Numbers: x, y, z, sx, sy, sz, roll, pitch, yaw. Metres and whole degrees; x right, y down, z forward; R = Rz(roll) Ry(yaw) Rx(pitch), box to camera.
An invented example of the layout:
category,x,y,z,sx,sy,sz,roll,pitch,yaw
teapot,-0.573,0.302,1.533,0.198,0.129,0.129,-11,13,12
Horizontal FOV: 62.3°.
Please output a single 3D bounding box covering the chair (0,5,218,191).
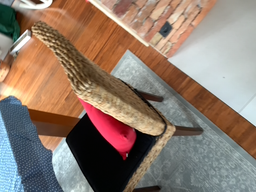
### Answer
category,x,y,z,sx,sy,sz,roll,pitch,yaw
chair,-0.080,0.170,1.070,0.590,1.010,0.500,-51,53,13
